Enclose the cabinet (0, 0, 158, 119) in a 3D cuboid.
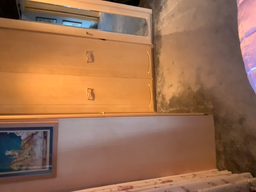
[{"bbox_3d":[-0.670,-0.480,2.780,0.550,2.030,1.520,161,108,-68],"label":"cabinet"}]
